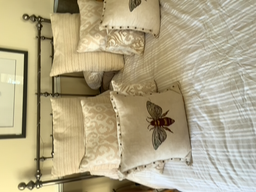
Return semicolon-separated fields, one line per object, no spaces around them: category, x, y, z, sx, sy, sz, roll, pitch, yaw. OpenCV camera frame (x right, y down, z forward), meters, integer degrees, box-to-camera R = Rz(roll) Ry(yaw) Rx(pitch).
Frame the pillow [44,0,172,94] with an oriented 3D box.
pillow;-0.280;-0.490;1.640;1.120;0.520;0.620;-33;61;55

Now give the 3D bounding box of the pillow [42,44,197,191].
pillow;-0.210;0.220;1.460;1.160;0.550;0.590;-28;64;57
